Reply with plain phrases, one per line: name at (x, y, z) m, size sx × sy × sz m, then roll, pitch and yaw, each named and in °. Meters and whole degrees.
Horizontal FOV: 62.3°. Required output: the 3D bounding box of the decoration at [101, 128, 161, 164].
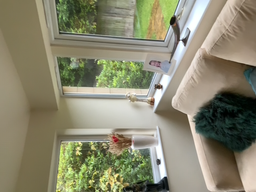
decoration at (0.010, 0.660, 2.760) m, size 0.510 × 0.690 × 0.230 m, roll 104°, pitch 165°, yaw -47°

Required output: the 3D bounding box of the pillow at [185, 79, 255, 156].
pillow at (0.800, 0.210, 1.800) m, size 0.540 × 0.340 × 0.450 m, roll 108°, pitch 161°, yaw -57°
